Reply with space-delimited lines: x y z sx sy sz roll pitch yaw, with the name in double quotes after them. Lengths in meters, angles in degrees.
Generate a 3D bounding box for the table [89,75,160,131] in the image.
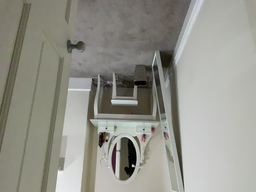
-0.050 0.120 3.420 1.030 0.780 0.470 1 161 0 "table"

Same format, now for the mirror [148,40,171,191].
0.360 0.220 2.590 0.170 1.740 0.470 1 165 -1 "mirror"
